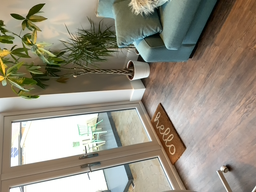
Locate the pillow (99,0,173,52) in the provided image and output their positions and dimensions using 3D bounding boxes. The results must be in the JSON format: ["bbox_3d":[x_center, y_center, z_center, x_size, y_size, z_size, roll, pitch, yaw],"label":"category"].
[{"bbox_3d":[0.090,-0.790,2.070,0.280,0.490,0.510,-22,101,49],"label":"pillow"}]

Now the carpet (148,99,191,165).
[{"bbox_3d":[0.510,0.460,2.790,0.430,0.100,0.730,108,149,-43],"label":"carpet"}]
